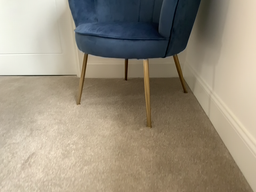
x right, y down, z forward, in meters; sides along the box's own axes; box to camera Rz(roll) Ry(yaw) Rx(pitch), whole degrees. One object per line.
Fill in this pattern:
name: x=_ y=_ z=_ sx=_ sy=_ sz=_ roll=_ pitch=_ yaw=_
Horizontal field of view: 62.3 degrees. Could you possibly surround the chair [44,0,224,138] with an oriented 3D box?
chair: x=0.050 y=-0.400 z=1.180 sx=0.710 sy=0.850 sz=0.660 roll=17 pitch=30 yaw=34
